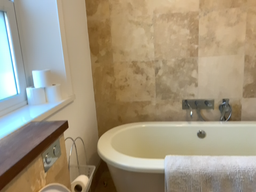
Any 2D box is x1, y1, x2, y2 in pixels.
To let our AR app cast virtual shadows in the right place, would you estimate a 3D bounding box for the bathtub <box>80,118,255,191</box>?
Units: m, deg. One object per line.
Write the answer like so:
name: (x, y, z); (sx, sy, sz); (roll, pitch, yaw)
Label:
bathtub: (0.630, 0.620, 1.730); (1.760, 0.620, 0.820); (-2, 13, 8)
